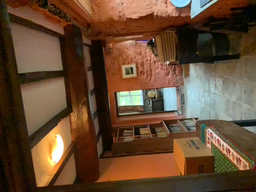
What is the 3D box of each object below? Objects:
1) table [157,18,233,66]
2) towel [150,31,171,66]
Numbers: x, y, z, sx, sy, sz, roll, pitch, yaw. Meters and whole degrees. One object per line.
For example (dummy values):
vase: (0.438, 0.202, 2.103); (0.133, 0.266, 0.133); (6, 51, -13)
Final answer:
table: (0.980, -0.820, 3.410); (1.250, 0.800, 0.550); (-94, 0, -80)
towel: (0.480, -0.700, 3.190); (0.440, 0.210, 0.470); (-94, 0, -81)
